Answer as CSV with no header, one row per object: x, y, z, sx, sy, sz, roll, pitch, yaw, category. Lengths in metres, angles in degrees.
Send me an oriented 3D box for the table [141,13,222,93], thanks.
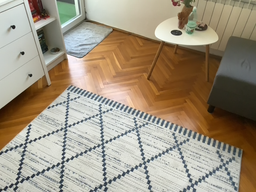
0.510,-0.440,2.090,0.570,0.450,0.500,23,47,19,table

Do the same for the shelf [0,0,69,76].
-0.870,-0.800,1.830,0.350,1.190,0.400,21,47,17,shelf
